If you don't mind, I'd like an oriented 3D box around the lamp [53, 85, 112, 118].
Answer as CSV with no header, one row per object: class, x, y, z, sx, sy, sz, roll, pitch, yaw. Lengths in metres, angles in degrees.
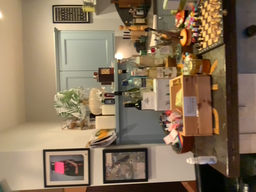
lamp,-0.400,0.040,1.950,0.260,0.490,0.280,-151,60,-84
